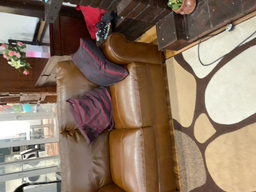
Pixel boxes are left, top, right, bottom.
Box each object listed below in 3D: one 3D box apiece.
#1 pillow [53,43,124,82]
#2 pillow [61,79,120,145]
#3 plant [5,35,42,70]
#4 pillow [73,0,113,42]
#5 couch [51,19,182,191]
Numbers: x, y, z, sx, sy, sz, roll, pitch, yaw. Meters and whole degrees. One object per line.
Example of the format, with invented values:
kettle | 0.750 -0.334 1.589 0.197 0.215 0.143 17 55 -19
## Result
pillow | -0.330 -0.280 1.920 0.510 0.410 0.160 12 -110 -69
pillow | -0.350 0.150 2.030 0.150 0.410 0.510 109 143 -80
plant | -1.500 -0.610 3.040 0.350 0.440 0.360 -20 74 58
pillow | -0.390 -0.860 2.250 0.530 0.230 0.370 -17 77 59
couch | -0.190 0.300 2.090 0.970 0.840 1.620 -16 78 59
